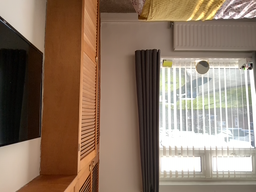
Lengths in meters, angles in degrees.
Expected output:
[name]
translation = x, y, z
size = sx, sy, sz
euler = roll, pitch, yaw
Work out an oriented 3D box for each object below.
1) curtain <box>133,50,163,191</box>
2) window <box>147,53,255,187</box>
[curtain]
translation = 0.240, 0.420, 2.660
size = 0.330, 1.970, 0.250
euler = 0, 174, -3
[window]
translation = 1.080, 0.310, 3.000
size = 1.590, 1.820, 0.160
euler = 0, 174, -3
